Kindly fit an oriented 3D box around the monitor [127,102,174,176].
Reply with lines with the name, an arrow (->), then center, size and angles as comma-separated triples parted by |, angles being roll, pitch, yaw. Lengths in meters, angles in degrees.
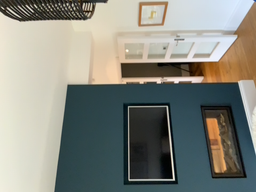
monitor -> 0.270, 0.530, 2.760 | 0.040, 0.560, 0.950 | 90, 179, -66
